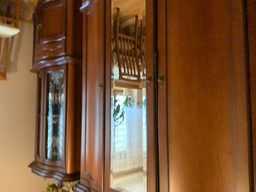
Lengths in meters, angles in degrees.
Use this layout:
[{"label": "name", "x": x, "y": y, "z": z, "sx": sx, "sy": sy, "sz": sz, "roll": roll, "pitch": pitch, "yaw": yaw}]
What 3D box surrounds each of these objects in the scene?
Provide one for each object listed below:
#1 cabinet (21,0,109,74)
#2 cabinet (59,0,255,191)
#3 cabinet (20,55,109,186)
[{"label": "cabinet", "x": -0.820, "y": -0.780, "z": 2.680, "sx": 1.050, "sy": 0.820, "sz": 0.630, "roll": -3, "pitch": 175, "yaw": 45}, {"label": "cabinet", "x": 0.200, "y": -0.220, "z": 1.580, "sx": 1.540, "sy": 2.070, "sz": 0.690, "roll": -3, "pitch": 175, "yaw": 45}, {"label": "cabinet", "x": -0.820, "y": 0.260, "z": 2.640, "sx": 1.080, "sy": 1.260, "sz": 0.590, "roll": -3, "pitch": 175, "yaw": 45}]
